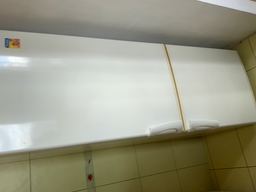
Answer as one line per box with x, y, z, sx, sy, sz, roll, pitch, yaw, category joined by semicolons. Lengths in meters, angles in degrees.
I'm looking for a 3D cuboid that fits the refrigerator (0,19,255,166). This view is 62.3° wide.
-0.040;0.030;1.420;0.650;1.760;0.580;-38;58;58;refrigerator
